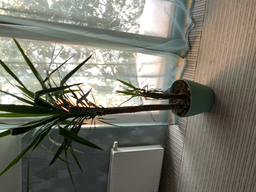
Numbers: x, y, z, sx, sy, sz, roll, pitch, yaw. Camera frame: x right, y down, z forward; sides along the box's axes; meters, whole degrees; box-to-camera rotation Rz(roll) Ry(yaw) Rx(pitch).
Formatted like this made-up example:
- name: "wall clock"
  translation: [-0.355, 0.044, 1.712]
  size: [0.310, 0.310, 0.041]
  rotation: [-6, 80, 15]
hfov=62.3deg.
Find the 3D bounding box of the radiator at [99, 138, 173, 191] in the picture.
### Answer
- name: "radiator"
  translation: [0.050, 1.170, 2.520]
  size: [0.180, 0.770, 1.340]
  rotation: [-143, 58, -63]
